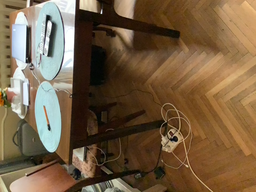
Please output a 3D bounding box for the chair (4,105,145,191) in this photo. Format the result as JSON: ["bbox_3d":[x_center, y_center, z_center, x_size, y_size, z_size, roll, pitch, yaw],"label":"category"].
[{"bbox_3d":[-0.350,0.380,1.530,0.390,0.870,0.470,18,107,47],"label":"chair"}]
